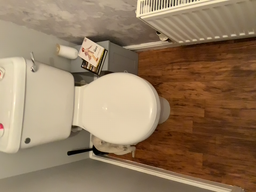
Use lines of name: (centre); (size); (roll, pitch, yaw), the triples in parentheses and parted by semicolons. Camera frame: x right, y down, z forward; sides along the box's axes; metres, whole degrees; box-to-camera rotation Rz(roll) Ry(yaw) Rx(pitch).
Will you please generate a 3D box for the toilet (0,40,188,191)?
toilet: (-0.160, 0.070, 1.130); (0.690, 0.790, 0.440); (1, 88, 35)
